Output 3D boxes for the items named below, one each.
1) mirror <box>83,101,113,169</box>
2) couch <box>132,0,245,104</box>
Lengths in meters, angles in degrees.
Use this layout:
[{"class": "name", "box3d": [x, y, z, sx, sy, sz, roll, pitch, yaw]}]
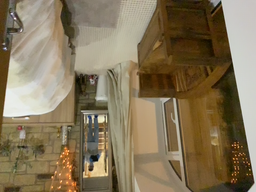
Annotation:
[{"class": "mirror", "box3d": [-0.510, 0.630, 3.570, 0.480, 1.110, 0.070, 0, 165, -10]}, {"class": "couch", "box3d": [0.480, -0.430, 2.200, 0.640, 0.790, 1.070, 0, 164, -10]}]
